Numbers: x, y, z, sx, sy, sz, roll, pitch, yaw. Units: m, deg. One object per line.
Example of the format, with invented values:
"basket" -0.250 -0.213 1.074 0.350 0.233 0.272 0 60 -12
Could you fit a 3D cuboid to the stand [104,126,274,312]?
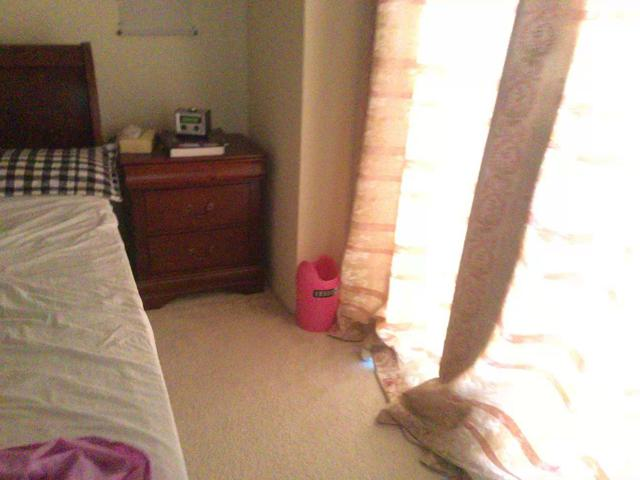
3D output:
"stand" -0.570 -0.120 2.540 0.620 0.670 0.400 -7 23 -24
